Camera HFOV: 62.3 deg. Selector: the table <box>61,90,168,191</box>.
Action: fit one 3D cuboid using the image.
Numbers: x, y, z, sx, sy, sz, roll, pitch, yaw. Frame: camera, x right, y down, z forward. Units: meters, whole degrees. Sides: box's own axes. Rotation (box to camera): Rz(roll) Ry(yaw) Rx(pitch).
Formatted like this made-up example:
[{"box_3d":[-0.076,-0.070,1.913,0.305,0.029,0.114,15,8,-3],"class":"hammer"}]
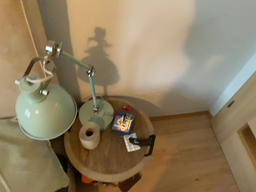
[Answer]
[{"box_3d":[-0.110,0.290,1.230,0.460,0.420,0.450,-6,57,-12],"class":"table"}]
